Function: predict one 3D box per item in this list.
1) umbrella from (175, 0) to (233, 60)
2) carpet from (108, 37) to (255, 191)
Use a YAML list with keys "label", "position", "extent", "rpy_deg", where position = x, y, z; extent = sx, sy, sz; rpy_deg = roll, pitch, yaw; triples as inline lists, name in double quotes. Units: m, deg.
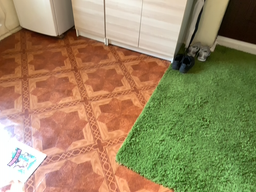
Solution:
- label: "umbrella"
  position: [0.790, -0.880, 2.220]
  extent: [0.380, 0.950, 0.290]
  rpy_deg: [6, 43, 1]
- label: "carpet"
  position: [0.960, 0.110, 1.870]
  extent: [1.520, 0.090, 1.900]
  rpy_deg: [21, 46, 16]
